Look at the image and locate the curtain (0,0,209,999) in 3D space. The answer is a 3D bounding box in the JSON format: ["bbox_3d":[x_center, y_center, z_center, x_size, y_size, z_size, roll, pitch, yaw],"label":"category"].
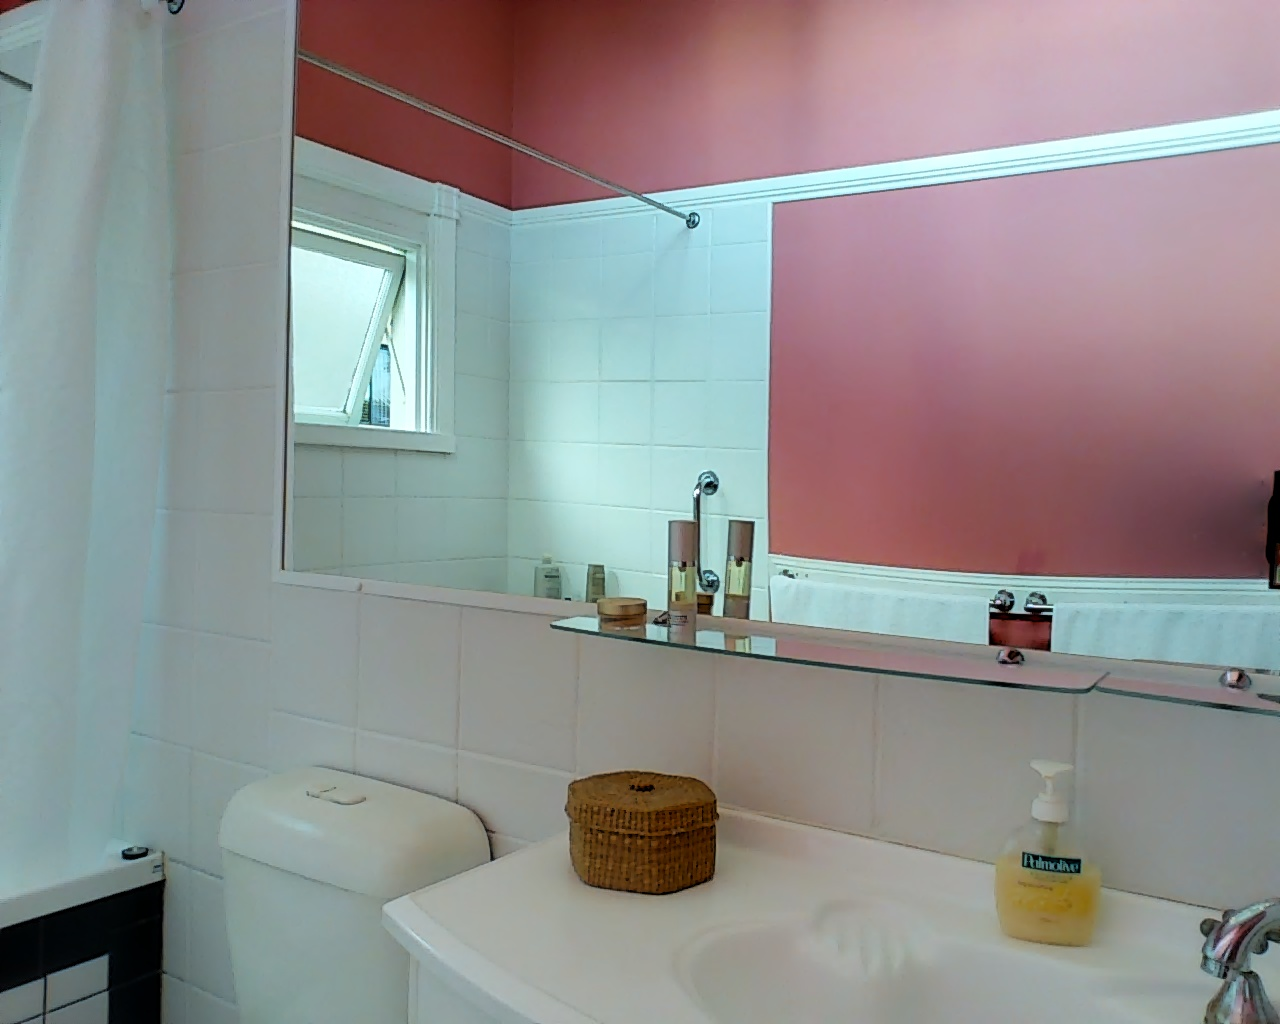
[{"bbox_3d":[-0.990,-0.120,1.770,0.340,1.671,0.340,3,1,34],"label":"curtain"}]

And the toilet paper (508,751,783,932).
[{"bbox_3d":[0.010,0.340,1.150,0.210,0.100,0.210,3,1,33],"label":"toilet paper"}]
